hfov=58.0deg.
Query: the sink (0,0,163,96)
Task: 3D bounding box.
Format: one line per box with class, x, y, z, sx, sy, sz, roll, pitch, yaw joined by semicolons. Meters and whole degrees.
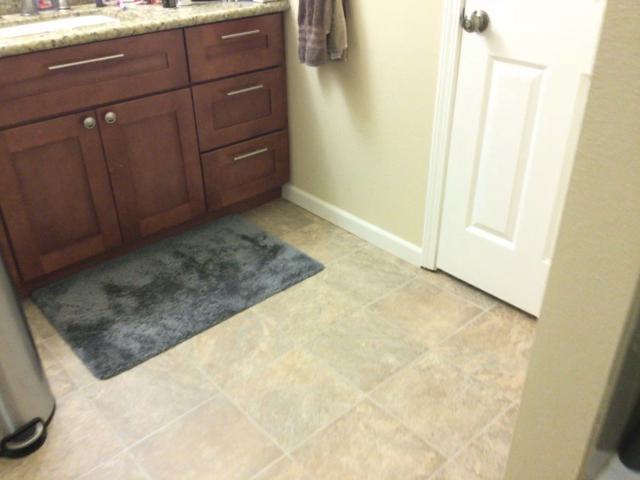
sink;-0.930;-0.730;2.110;0.530;0.230;0.420;-24;36;-35
